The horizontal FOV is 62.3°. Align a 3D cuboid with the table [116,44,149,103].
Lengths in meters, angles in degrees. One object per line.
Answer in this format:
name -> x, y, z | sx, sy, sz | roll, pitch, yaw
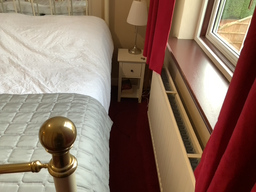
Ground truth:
table -> 0.030, -0.270, 2.530 | 0.330, 0.540, 0.440 | 2, 34, -4
